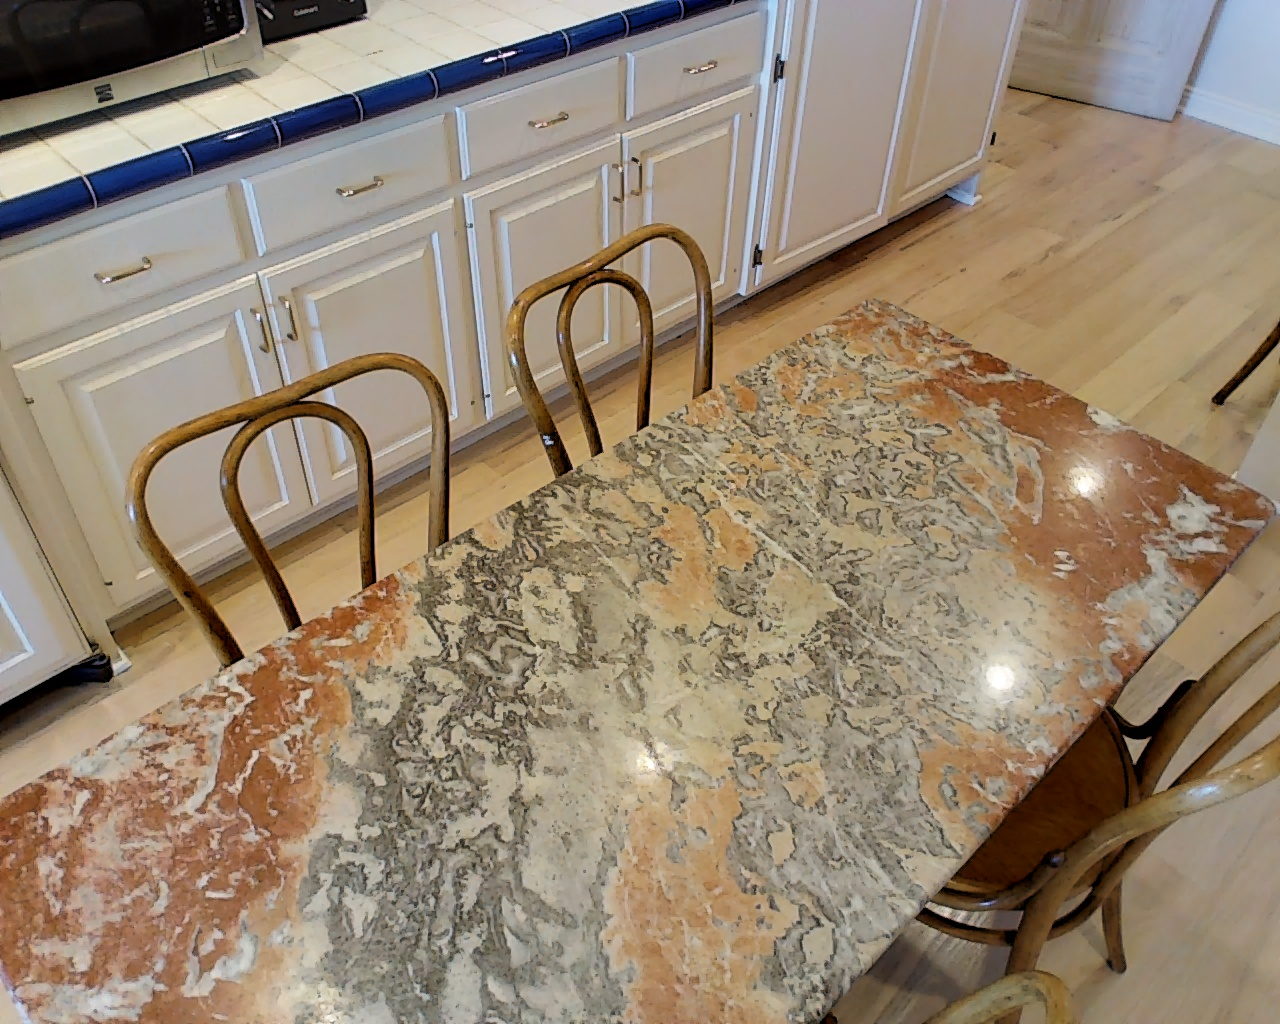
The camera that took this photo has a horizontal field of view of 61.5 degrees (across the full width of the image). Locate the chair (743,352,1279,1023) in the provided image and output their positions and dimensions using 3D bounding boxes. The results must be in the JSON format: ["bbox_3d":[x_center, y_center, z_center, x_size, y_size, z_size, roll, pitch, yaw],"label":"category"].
[{"bbox_3d":[0.510,0.350,1.400,0.430,0.870,0.540,33,52,29],"label":"chair"}]
